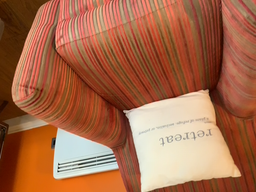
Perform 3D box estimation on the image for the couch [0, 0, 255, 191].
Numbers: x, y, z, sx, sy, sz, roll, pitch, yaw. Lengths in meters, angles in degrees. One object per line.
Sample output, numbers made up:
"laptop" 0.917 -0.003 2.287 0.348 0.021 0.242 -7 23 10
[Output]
"couch" 0.150 -0.010 0.930 0.780 0.880 0.930 -16 147 14
